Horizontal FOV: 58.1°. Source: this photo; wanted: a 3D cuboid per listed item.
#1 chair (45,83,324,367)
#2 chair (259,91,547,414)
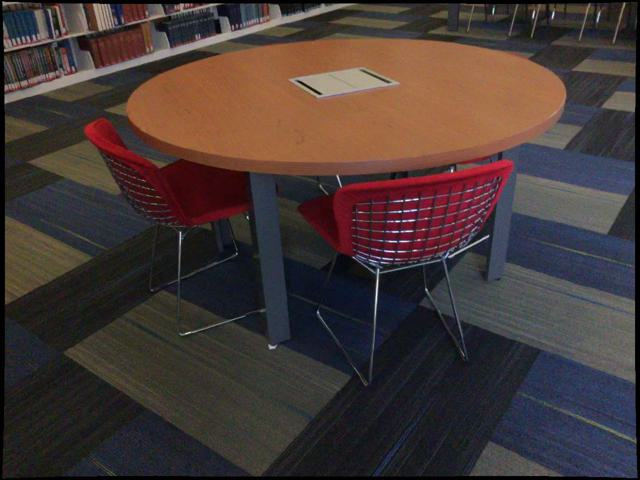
[{"bbox_3d":[-0.439,-0.100,2.090,0.649,0.691,0.600,18,38,31],"label":"chair"},{"bbox_3d":[0.219,0.000,1.860,0.619,0.711,0.610,-14,33,-16],"label":"chair"}]
